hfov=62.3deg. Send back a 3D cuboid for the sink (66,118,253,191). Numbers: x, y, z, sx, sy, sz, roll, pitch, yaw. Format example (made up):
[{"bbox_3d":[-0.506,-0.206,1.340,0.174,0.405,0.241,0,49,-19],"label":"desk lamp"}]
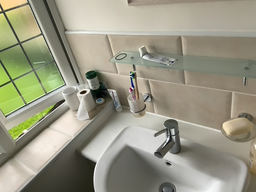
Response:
[{"bbox_3d":[0.120,0.350,0.800,0.530,0.210,0.400,13,42,35],"label":"sink"}]
